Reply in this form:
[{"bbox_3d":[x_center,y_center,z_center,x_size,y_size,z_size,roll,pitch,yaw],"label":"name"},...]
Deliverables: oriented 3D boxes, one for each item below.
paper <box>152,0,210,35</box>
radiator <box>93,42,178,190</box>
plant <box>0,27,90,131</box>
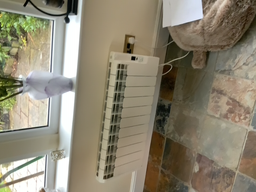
[{"bbox_3d":[0.360,-0.690,1.480,0.390,0.120,0.450,7,98,47],"label":"paper"},{"bbox_3d":[0.070,0.160,1.710,0.120,0.600,1.080,22,109,45],"label":"radiator"},{"bbox_3d":[-0.780,-0.140,1.270,0.600,0.840,0.450,32,115,43],"label":"plant"}]
